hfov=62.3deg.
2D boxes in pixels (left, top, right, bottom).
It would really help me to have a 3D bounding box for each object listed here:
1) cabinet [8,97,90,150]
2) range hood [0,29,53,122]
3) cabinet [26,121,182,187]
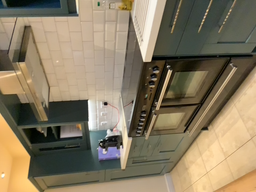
[{"bbox_3d":[-0.940,0.380,2.750,0.800,0.840,0.270,100,164,-53],"label":"cabinet"},{"bbox_3d":[-1.030,-0.140,1.890,0.820,0.520,0.350,99,164,-52],"label":"range hood"},{"bbox_3d":[-0.350,0.920,3.400,0.740,2.150,0.580,100,164,-53],"label":"cabinet"}]
